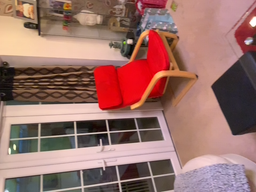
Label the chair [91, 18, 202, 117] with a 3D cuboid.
[{"bbox_3d":[0.130,-0.300,2.510,0.820,0.940,0.730,115,148,-51],"label":"chair"}]

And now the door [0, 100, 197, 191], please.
[{"bbox_3d":[-0.320,0.680,2.380,0.080,2.060,1.420,114,149,-50],"label":"door"}]
